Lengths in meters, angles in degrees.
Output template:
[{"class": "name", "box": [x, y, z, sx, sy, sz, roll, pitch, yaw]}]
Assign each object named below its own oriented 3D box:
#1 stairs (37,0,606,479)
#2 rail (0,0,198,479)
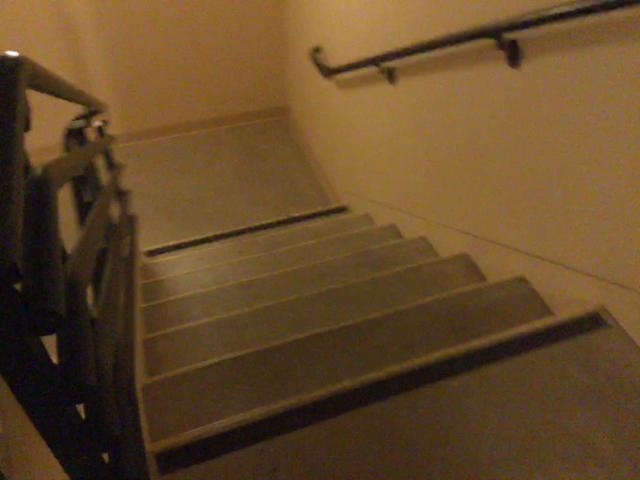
[{"class": "stairs", "box": [-0.290, -0.040, 2.510, 1.340, 1.340, 2.290, -11, 50, -13]}, {"class": "rail", "box": [-0.610, -0.300, 1.200, 0.300, 2.430, 1.930, -11, 50, -13]}]
